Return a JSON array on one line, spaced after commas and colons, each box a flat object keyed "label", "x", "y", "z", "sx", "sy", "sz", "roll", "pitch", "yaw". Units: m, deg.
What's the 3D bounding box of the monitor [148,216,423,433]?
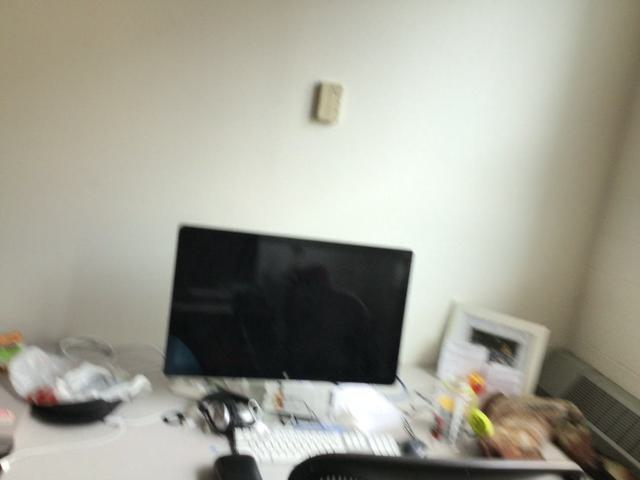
[{"label": "monitor", "x": -0.100, "y": 0.230, "z": 1.540, "sx": 0.620, "sy": 0.470, "sz": 0.210, "roll": 8, "pitch": 11, "yaw": -15}]

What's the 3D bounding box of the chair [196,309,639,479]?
[{"label": "chair", "x": 0.080, "y": 0.750, "z": 1.280, "sx": 0.690, "sy": 0.970, "sz": 0.620, "roll": 8, "pitch": 11, "yaw": -15}]
